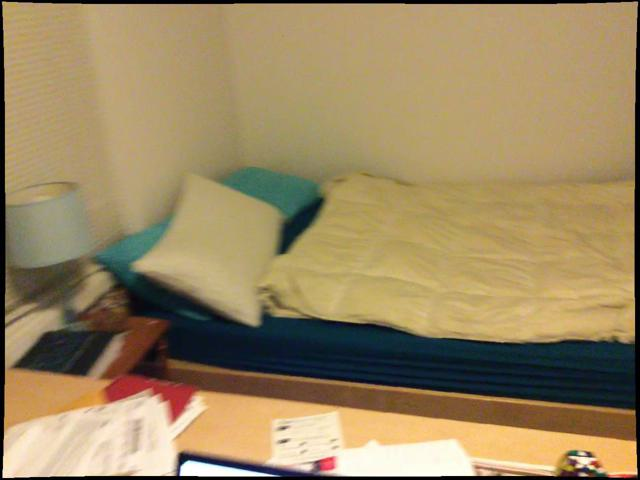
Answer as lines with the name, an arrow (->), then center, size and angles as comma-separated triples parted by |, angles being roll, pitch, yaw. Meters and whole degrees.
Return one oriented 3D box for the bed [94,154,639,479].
bed -> 0.480, 0.180, 2.380 | 2.108, 0.631, 1.440 | 3, 27, 15
